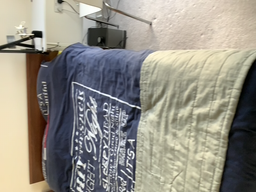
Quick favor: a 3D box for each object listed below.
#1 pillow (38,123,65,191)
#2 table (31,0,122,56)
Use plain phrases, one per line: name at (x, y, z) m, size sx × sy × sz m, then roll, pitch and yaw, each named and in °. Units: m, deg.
pillow at (-0.770, 0.620, 2.120) m, size 0.380 × 0.150 × 0.600 m, roll 17°, pitch 107°, yaw 52°
table at (-0.490, -0.840, 2.060) m, size 0.390 × 0.760 × 0.840 m, roll 17°, pitch 107°, yaw 52°
